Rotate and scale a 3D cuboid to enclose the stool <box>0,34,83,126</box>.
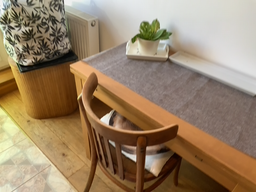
[{"bbox_3d":[-0.670,-0.140,1.720,0.390,0.530,0.390,31,47,31],"label":"stool"}]
